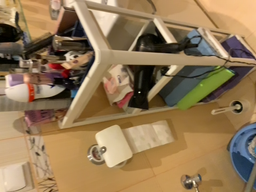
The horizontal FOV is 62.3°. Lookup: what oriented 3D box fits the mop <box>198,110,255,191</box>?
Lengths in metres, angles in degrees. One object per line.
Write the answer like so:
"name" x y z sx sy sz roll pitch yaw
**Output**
"mop" 0.620 0.300 0.970 0.300 0.520 0.360 18 108 49
